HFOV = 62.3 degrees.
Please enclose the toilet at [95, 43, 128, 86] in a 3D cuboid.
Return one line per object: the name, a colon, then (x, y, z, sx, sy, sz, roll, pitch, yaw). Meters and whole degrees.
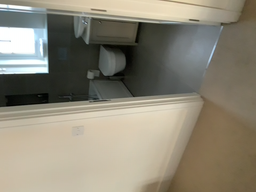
toilet: (-0.260, -0.480, 3.150, 0.520, 0.280, 0.440, -127, 40, -49)
